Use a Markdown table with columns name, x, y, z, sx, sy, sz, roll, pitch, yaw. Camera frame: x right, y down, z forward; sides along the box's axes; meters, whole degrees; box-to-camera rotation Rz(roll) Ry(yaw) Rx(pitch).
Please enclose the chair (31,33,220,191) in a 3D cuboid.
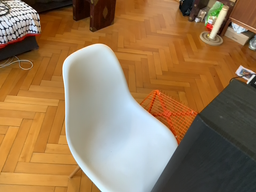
| name | x | y | z | sx | sy | sz | roll | pitch | yaw |
| --- | --- | --- | --- | --- | --- | --- | --- | --- | --- |
| chair | -0.060 | 0.230 | 1.060 | 0.540 | 0.800 | 0.450 | 38 | 50 | 22 |
